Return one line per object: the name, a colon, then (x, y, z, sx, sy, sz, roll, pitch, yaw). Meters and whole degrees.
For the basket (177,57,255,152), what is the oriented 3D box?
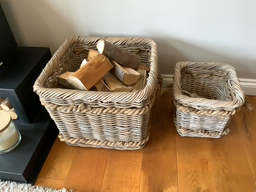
basket: (0.460, 0.050, 1.170, 0.310, 0.410, 0.280, 6, 43, 9)
